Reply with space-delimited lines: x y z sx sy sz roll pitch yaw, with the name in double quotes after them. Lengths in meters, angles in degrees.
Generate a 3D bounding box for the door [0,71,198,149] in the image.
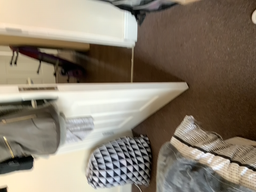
-0.580 0.120 1.200 0.810 2.080 0.150 -38 64 49 "door"
